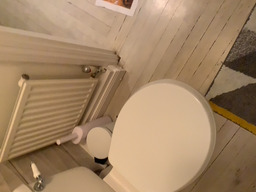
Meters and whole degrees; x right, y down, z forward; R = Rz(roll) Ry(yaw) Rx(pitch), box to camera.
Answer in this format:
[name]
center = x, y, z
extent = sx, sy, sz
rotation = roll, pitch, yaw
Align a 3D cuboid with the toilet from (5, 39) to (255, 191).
[toilet]
center = 0.060, 0.250, 0.850
extent = 0.480, 0.770, 0.680
rotation = 36, 110, 21
